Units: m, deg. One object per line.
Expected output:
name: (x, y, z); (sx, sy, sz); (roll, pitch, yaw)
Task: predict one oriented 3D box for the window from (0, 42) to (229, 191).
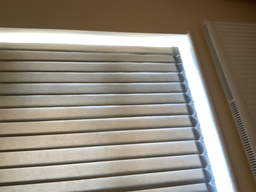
window: (-0.150, 0.120, 1.160); (0.020, 1.290, 0.970); (113, 153, -61)
